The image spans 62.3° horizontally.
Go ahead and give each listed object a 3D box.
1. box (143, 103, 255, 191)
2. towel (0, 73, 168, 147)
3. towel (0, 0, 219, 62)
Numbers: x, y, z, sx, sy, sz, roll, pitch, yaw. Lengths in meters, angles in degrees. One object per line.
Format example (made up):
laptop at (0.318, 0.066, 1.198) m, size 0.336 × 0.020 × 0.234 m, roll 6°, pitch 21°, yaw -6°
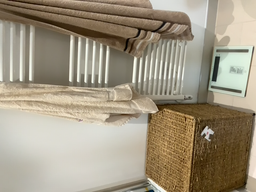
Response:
box at (0.490, 0.350, 1.450) m, size 0.390 × 0.630 × 0.540 m, roll 11°, pitch 100°, yaw 59°
towel at (-0.200, 0.050, 1.090) m, size 0.150 × 0.900 × 0.290 m, roll 13°, pitch 101°, yaw 58°
towel at (-0.030, -0.420, 1.120) m, size 0.200 × 1.290 × 0.360 m, roll 7°, pitch 96°, yaw 59°
